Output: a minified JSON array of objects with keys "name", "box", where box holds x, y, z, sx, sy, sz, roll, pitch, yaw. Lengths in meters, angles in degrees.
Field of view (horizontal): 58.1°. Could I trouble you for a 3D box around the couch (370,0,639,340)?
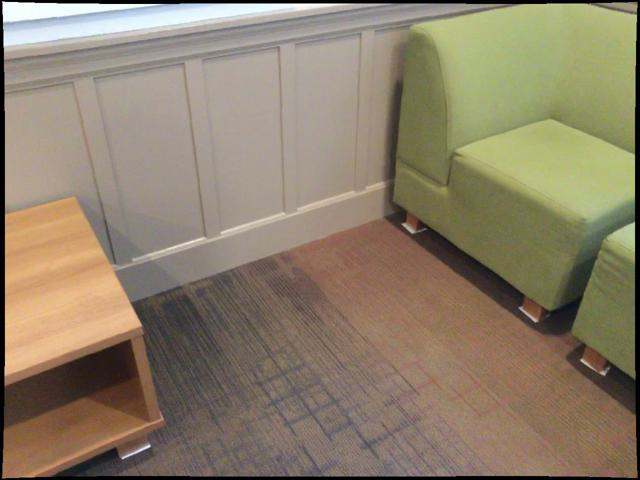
[{"name":"couch","box":[0.798,-0.351,2.060,0.869,0.791,0.840,-21,41,-26]}]
